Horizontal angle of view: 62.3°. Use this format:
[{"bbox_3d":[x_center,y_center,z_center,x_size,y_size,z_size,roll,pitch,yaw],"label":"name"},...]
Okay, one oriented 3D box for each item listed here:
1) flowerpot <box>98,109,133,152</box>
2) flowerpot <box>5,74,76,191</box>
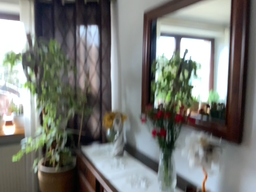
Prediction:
[{"bbox_3d":[-0.130,0.320,2.090,0.220,0.330,0.320,-2,7,-29],"label":"flowerpot"},{"bbox_3d":[-0.830,0.490,2.120,0.470,1.400,0.420,2,6,9],"label":"flowerpot"}]
